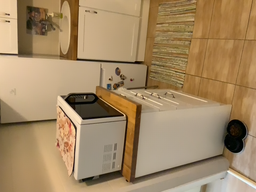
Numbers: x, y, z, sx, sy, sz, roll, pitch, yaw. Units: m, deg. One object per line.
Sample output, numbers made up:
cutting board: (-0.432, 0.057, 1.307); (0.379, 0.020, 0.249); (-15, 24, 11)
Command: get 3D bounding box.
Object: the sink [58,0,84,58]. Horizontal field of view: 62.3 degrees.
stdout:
sink: (-0.670, -0.790, 2.450); (0.380, 0.180, 0.650); (26, 114, 56)
